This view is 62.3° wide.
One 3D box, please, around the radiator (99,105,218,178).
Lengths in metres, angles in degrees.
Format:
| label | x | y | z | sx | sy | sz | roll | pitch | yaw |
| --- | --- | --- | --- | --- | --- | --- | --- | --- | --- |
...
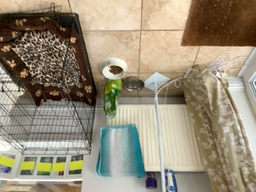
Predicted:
| label | x | y | z | sx | sy | sz | roll | pitch | yaw |
| --- | --- | --- | --- | --- | --- | --- | --- | --- | --- |
| radiator | 0.230 | 0.380 | 1.830 | 0.910 | 0.570 | 0.160 | 2 | 146 | -3 |
